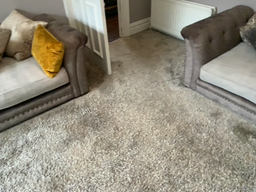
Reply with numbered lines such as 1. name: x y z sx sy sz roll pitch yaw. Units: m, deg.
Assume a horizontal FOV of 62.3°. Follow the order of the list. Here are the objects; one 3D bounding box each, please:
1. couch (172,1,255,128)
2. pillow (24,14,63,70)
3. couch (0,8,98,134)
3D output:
1. couch: 1.440 -0.300 2.090 1.060 0.710 1.630 -28 45 -28
2. pillow: -0.880 -0.520 2.170 0.180 0.370 0.590 -26 8 -27
3. couch: -1.560 -0.160 2.090 2.200 0.690 1.090 -28 45 -29
